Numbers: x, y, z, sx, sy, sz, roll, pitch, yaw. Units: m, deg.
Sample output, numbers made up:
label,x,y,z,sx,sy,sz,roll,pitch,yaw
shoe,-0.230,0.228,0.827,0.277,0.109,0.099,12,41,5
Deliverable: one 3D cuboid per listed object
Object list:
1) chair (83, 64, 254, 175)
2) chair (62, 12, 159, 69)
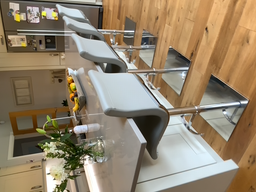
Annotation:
label,x,y,z,sx,sy,sz,roll,pitch,yaw
chair,0.240,0.110,1.460,0.400,1.000,0.500,-122,35,-47
chair,-0.220,-0.630,2.430,0.410,0.980,0.490,-128,40,-52
